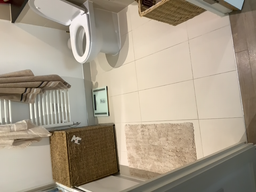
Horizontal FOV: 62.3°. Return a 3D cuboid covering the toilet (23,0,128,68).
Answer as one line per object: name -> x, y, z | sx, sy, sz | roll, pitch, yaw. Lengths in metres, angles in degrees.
toilet -> -0.470, -0.590, 2.010 | 0.380, 0.850, 0.530 | -9, 85, 49

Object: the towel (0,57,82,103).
towel -> -1.060, -0.140, 1.960 | 0.190, 1.280, 0.380 | -11, 83, 48

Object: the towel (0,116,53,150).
towel -> -1.160, 0.340, 1.830 | 0.190, 0.950, 0.250 | -9, 85, 49
